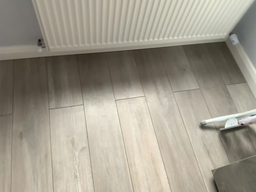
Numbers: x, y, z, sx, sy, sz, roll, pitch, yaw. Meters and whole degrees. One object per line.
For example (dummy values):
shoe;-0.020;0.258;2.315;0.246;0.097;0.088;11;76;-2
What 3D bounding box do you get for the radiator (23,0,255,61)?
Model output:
radiator;0.150;-0.480;1.230;1.320;0.570;0.150;-6;64;-12
